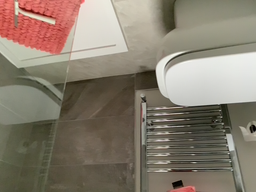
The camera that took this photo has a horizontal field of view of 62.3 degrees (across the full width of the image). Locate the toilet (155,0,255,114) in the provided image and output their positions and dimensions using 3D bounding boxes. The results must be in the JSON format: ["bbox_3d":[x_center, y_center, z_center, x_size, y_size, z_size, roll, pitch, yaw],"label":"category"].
[{"bbox_3d":[0.400,-0.230,0.940,0.490,0.450,0.400,-6,150,13],"label":"toilet"}]
